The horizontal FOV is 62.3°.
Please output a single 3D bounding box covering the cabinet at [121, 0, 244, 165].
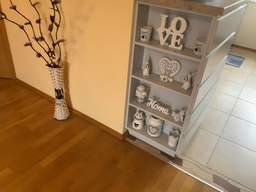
[{"bbox_3d":[0.430,-0.210,1.800,0.510,1.190,0.850,23,36,26],"label":"cabinet"}]
